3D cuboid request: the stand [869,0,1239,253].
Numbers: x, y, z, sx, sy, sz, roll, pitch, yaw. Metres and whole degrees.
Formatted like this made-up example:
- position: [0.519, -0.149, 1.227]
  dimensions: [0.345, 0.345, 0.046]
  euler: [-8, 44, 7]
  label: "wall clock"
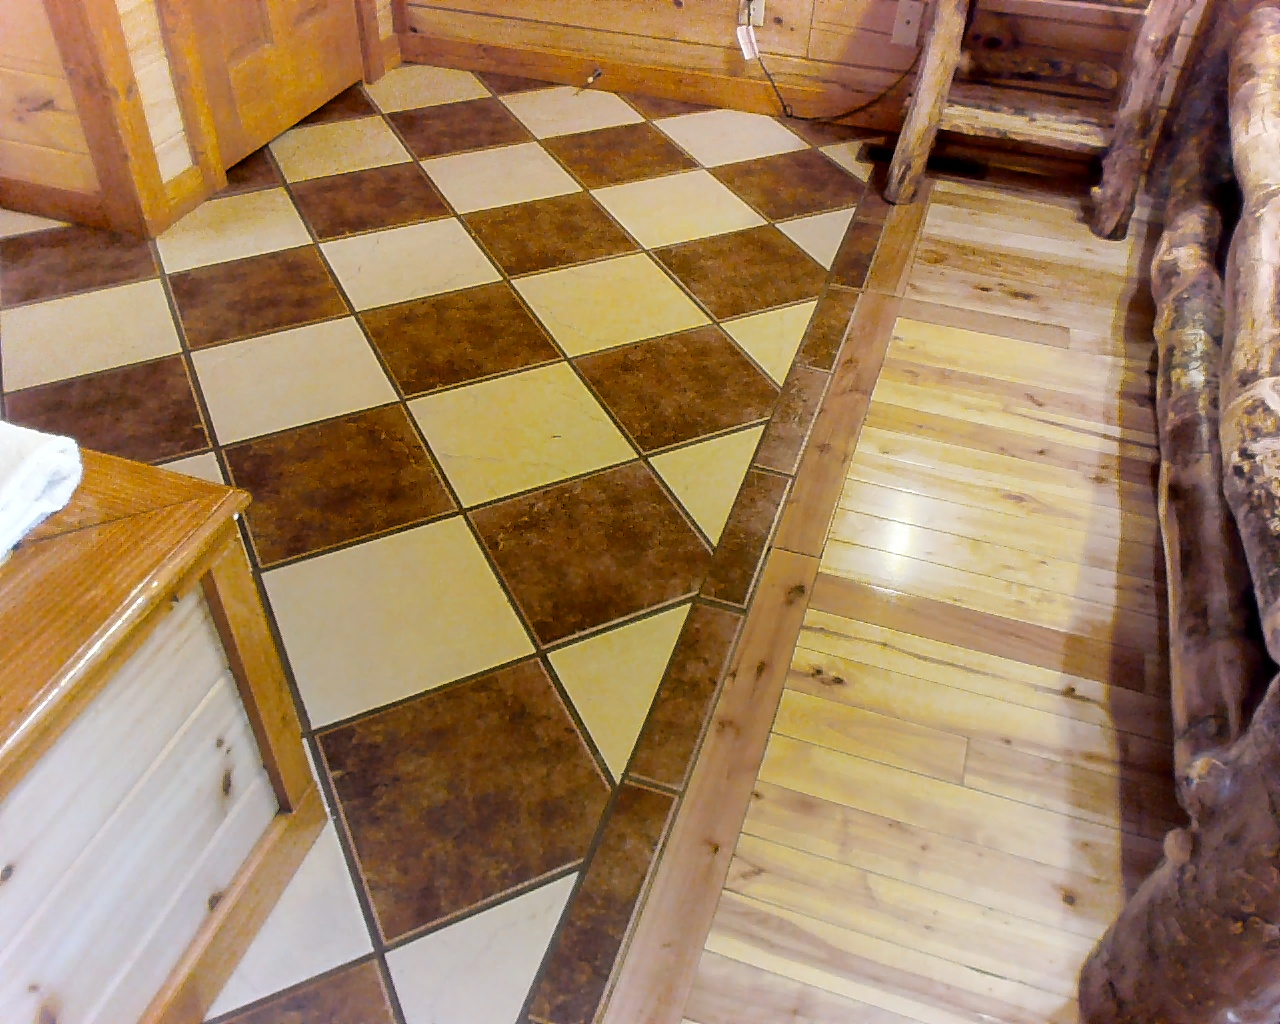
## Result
- position: [0.970, -1.120, 2.520]
  dimensions: [0.640, 0.700, 0.600]
  euler: [14, 43, 14]
  label: "stand"
